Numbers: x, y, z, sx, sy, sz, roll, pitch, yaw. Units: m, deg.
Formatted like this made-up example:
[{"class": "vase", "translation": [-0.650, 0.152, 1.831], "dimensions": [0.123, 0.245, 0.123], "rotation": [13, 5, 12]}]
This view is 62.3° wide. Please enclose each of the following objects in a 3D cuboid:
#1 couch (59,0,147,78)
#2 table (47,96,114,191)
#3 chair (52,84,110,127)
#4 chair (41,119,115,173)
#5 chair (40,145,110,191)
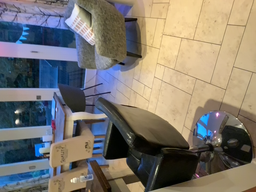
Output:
[{"class": "couch", "translation": [-0.350, -0.690, 2.660], "dimensions": [0.820, 0.830, 0.810], "rotation": [-6, 86, 61]}, {"class": "table", "translation": [-0.920, 0.990, 3.760], "dimensions": [0.870, 0.790, 1.780], "rotation": [38, 123, 54]}, {"class": "chair", "translation": [-0.800, 0.140, 3.550], "dimensions": [0.540, 0.780, 0.500], "rotation": [40, 125, 54]}, {"class": "chair", "translation": [-0.820, 0.750, 3.390], "dimensions": [0.670, 0.970, 0.430], "rotation": [38, 123, 54]}, {"class": "chair", "translation": [-0.920, 1.280, 3.590], "dimensions": [0.700, 0.970, 0.460], "rotation": [38, 123, 54]}]
